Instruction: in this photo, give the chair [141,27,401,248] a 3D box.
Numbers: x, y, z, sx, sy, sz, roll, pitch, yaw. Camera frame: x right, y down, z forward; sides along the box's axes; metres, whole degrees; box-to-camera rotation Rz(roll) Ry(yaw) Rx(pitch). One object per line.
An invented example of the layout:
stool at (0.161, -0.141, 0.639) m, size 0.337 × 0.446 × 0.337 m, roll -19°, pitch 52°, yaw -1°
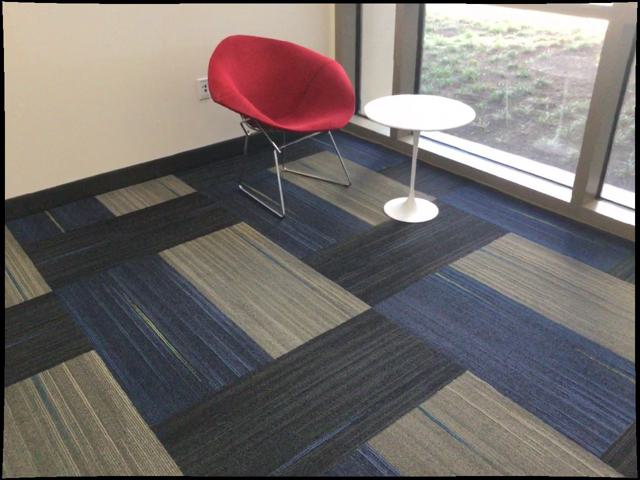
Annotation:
chair at (-0.259, -0.602, 2.980) m, size 0.829 × 0.711 × 0.989 m, roll -25°, pitch 39°, yaw -35°
